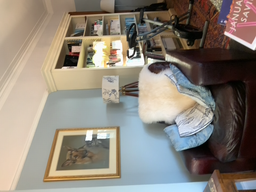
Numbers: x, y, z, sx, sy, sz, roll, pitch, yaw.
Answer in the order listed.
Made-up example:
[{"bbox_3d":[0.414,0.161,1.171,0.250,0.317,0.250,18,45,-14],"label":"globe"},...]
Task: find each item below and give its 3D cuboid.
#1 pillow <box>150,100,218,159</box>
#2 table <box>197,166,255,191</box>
[{"bbox_3d":[0.540,0.290,2.030,0.450,0.470,0.120,-38,-37,-40],"label":"pillow"},{"bbox_3d":[0.870,0.820,1.590,0.410,0.500,0.420,89,178,-46],"label":"table"}]
